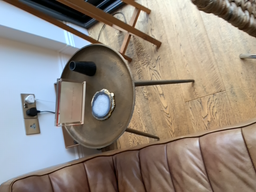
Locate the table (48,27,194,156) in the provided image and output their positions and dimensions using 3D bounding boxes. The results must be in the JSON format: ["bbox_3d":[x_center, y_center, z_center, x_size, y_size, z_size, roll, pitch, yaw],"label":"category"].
[{"bbox_3d":[0.000,0.010,1.060,0.390,0.580,0.400,-20,78,31],"label":"table"}]
